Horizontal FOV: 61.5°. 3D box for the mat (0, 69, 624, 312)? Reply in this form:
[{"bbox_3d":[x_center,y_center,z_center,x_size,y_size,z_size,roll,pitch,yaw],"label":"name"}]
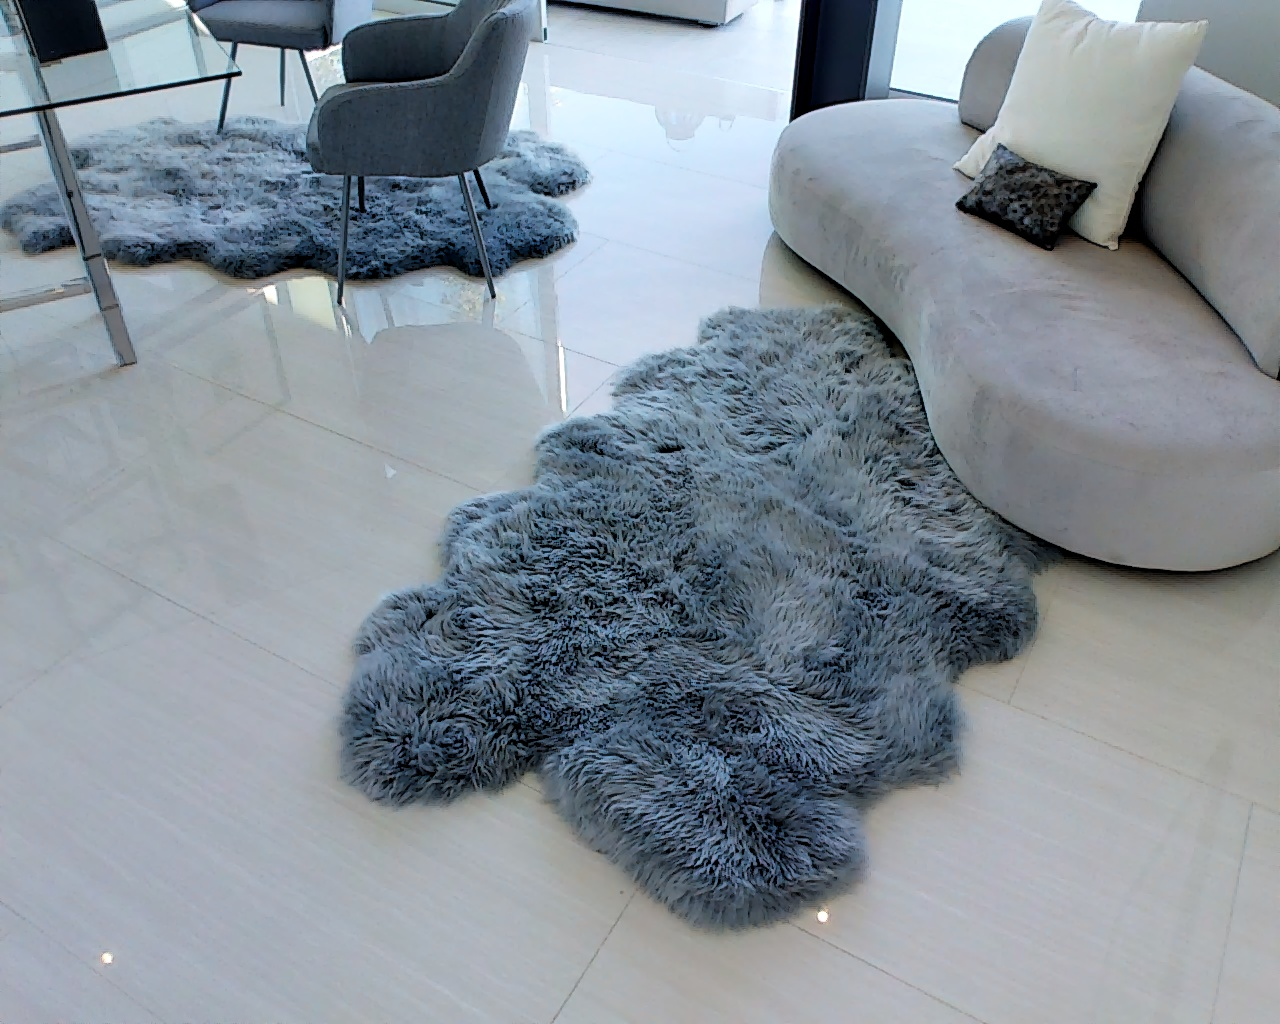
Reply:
[{"bbox_3d":[-1.140,-1.130,3.570,2.030,0.090,1.360,5,42,4],"label":"mat"}]

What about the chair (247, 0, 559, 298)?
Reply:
[{"bbox_3d":[-0.590,-1.090,2.990,0.660,0.750,0.610,1,42,0],"label":"chair"}]

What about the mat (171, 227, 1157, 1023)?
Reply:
[{"bbox_3d":[0.240,-0.010,2.320,1.270,0.100,2.010,22,46,22],"label":"mat"}]
